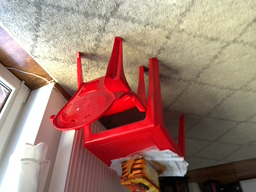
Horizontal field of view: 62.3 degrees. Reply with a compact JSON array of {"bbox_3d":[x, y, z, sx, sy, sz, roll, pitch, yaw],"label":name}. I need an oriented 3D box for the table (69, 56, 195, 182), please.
[{"bbox_3d":[0.060,0.190,1.340,0.500,0.410,0.620,-18,135,18],"label":"table"}]
